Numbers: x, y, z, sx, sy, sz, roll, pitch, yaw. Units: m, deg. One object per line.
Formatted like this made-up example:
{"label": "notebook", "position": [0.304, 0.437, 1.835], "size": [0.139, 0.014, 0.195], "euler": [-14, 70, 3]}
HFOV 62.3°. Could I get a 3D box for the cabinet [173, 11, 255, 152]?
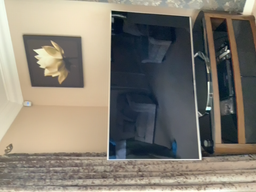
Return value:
{"label": "cabinet", "position": [0.840, -0.070, 2.160], "size": [0.820, 0.460, 1.200], "euler": [116, 155, -77]}
